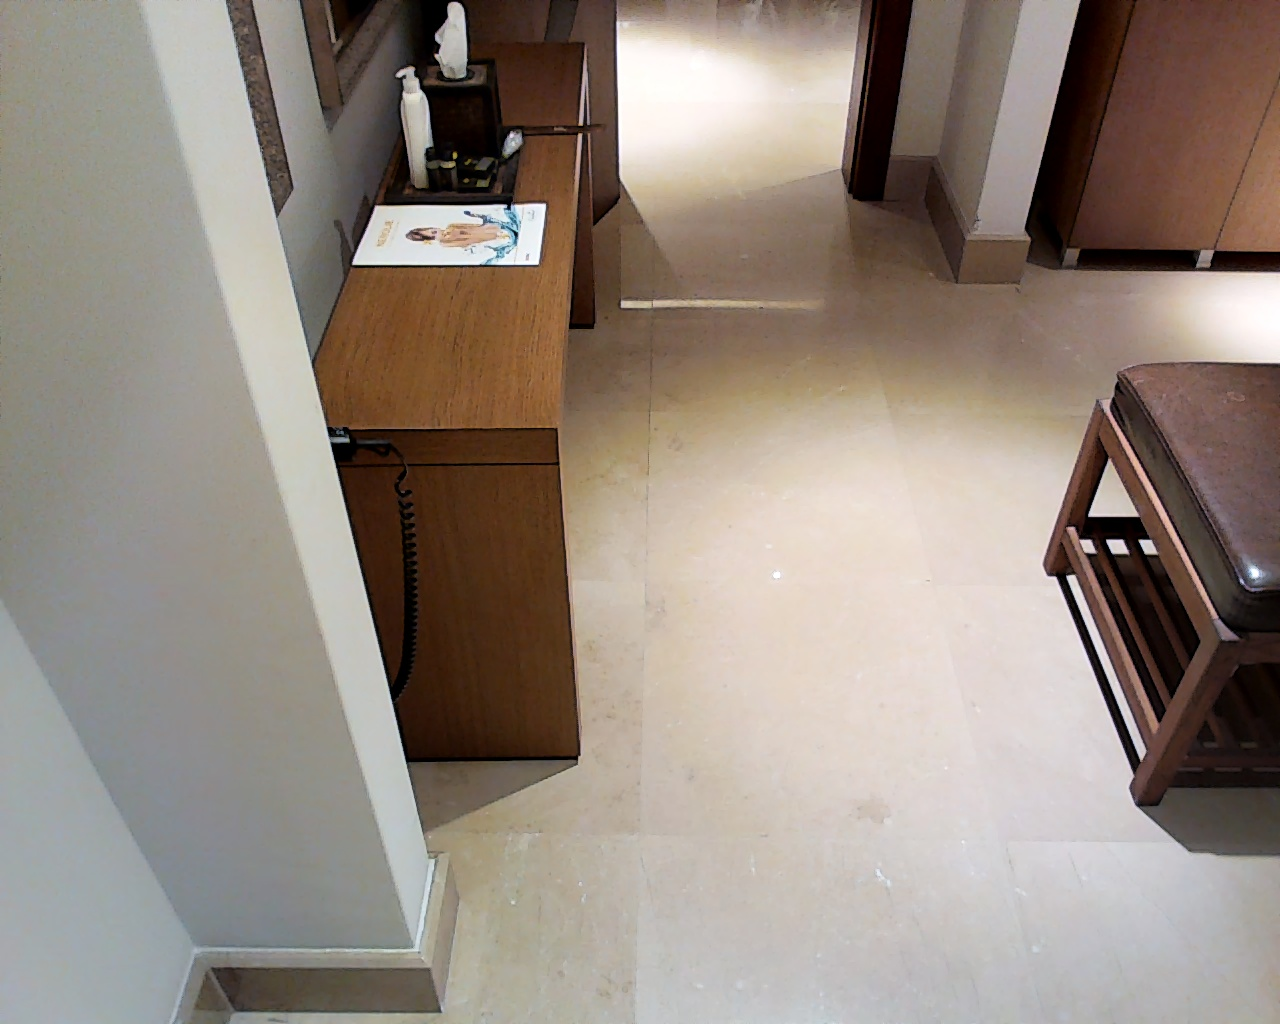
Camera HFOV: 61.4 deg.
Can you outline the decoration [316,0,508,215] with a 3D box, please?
[{"bbox_3d":[-0.390,-0.740,1.930,0.250,0.290,0.310,0,42,1],"label":"decoration"}]
